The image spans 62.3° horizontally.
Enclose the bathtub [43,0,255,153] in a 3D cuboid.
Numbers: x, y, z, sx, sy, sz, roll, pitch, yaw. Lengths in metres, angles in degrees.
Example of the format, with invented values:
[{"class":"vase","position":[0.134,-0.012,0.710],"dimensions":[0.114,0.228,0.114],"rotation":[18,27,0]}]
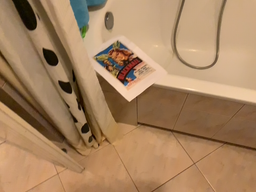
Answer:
[{"class":"bathtub","position":[0.540,-0.160,1.120],"dimensions":[1.620,0.560,0.680],"rotation":[12,63,9]}]
